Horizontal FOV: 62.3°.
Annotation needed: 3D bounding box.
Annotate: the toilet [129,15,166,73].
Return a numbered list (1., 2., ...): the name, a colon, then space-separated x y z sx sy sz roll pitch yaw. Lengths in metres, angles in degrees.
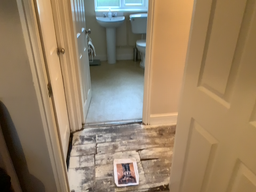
1. toilet: 0.330 -1.010 4.060 0.550 0.930 0.680 -3 28 -7
